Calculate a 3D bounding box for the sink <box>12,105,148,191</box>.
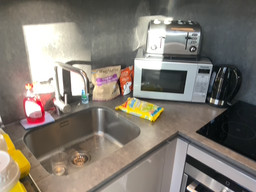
[{"bbox_3d":[-0.220,0.270,1.030,0.490,0.180,0.390,-21,34,-39],"label":"sink"}]
